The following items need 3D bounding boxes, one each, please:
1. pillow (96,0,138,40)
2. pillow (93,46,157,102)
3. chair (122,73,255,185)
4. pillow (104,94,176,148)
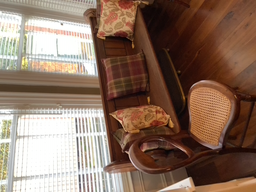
[{"bbox_3d":[-0.120,-0.770,2.180,0.150,0.350,0.330,52,139,41],"label":"pillow"},{"bbox_3d":[-0.030,-0.220,1.970,0.420,0.420,0.190,62,145,18],"label":"pillow"},{"bbox_3d":[0.450,0.150,1.250,0.360,0.850,0.470,-149,64,-64],"label":"chair"},{"bbox_3d":[0.090,0.170,1.690,0.420,0.380,0.180,23,124,48],"label":"pillow"}]
